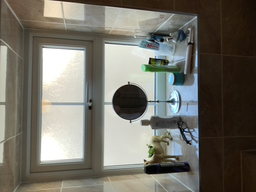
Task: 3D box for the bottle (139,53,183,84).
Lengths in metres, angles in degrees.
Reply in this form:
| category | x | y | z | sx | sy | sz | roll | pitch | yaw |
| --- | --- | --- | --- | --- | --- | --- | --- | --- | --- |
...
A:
| category | x | y | z | sx | sy | sz | roll | pitch | yaw |
| --- | --- | --- | --- | --- | --- | --- | --- | --- | --- |
| bottle | 0.190 | -0.160 | 1.270 | 0.220 | 0.180 | 0.160 | -160 | 71 | -75 |
